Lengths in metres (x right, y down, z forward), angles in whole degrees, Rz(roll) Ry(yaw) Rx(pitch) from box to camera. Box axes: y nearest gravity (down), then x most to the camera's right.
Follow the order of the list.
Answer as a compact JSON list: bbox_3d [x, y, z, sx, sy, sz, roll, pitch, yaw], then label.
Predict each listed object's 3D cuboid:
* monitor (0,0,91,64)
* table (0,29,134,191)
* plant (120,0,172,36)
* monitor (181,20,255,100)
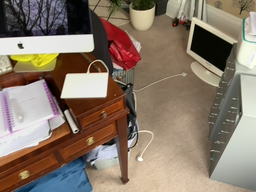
[{"bbox_3d":[-0.360,-0.260,0.750,0.430,0.380,0.040,1,59,-6],"label":"monitor"},{"bbox_3d":[-0.610,0.350,1.050,1.160,0.870,0.550,-25,51,-20],"label":"table"},{"bbox_3d":[0.220,-1.190,2.470,0.560,0.780,0.270,-23,51,-19],"label":"plant"},{"bbox_3d":[0.770,-0.340,1.940,0.050,0.460,0.680,-25,49,-20],"label":"monitor"}]
